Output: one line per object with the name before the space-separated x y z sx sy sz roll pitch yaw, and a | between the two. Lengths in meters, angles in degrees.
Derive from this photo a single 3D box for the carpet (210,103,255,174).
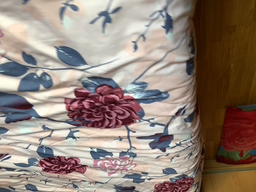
carpet | 1.050 0.360 1.680 0.680 0.140 0.780 -6 135 9
